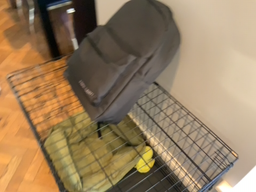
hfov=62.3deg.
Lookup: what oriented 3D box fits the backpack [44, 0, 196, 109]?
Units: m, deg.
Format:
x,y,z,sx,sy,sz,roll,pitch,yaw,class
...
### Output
x,y,z,sx,sy,sz,roll,pitch,yaw,class
-0.010,-0.140,0.810,0.300,0.450,0.230,47,115,31,backpack
